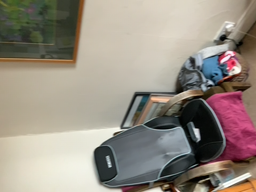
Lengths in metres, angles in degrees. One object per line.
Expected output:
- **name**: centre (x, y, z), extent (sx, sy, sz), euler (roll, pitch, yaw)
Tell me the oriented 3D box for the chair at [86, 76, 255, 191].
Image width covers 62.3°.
- **chair**: centre (0.330, 0.350, 1.610), extent (0.910, 1.050, 0.550), euler (124, 138, -52)
